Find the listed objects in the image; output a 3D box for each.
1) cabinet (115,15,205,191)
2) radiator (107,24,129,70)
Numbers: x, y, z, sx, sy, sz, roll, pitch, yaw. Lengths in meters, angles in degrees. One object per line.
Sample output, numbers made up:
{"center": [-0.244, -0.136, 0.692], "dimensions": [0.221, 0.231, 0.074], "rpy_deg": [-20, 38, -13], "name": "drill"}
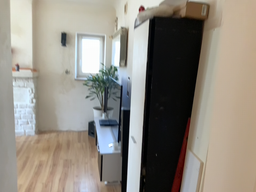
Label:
{"center": [0.180, 0.370, 1.770], "dimensions": [0.460, 1.860, 0.530], "rpy_deg": [1, 10, -11], "name": "cabinet"}
{"center": [-0.210, -0.820, 3.710], "dimensions": [0.160, 0.640, 1.280], "rpy_deg": [1, 10, -12], "name": "radiator"}
